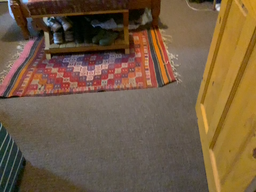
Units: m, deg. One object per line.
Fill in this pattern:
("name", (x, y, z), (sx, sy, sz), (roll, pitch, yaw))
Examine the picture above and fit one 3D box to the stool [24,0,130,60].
("stool", (-0.400, -0.710, 1.960), (0.800, 0.560, 0.410), (-3, 44, -1))
